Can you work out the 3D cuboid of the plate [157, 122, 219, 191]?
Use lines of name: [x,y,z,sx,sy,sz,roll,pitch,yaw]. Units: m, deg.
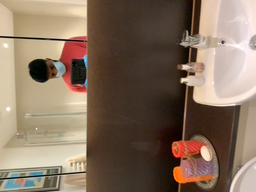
plate: [0.270,0.300,1.020,0.260,0.150,0.280,-143,54,-72]
